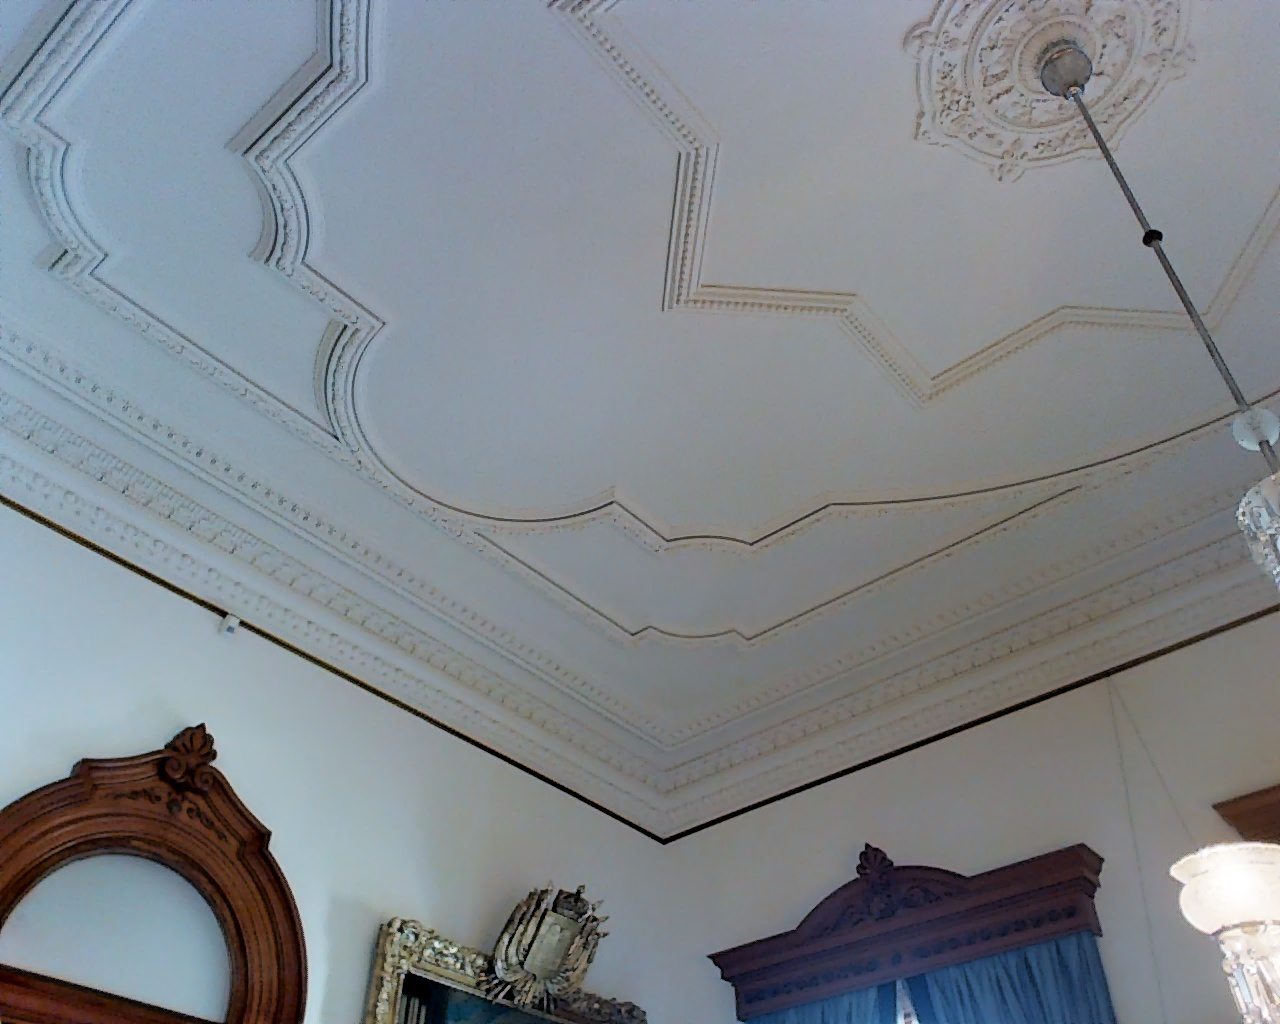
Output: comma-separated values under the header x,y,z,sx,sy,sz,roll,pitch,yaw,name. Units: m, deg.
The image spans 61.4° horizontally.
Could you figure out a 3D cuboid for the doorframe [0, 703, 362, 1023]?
x,y,z,sx,sy,sz,roll,pitch,yaw,name
-2.089,2.831,3.970,0.140,4.091,1.700,-30,-50,29,doorframe
